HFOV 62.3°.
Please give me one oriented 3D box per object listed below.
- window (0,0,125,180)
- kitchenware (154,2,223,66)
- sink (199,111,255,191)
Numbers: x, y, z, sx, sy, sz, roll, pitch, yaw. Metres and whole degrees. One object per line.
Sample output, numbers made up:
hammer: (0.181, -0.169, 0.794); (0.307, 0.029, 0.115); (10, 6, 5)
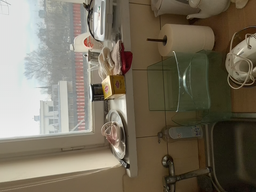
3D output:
window: (-0.680, -0.210, 1.130); (0.220, 1.270, 1.230); (164, 103, -70)
kitchenware: (0.290, -0.290, 1.050); (0.190, 0.240, 0.230); (160, 108, -70)
sink: (0.570, 0.270, 0.930); (0.510, 0.190, 0.400); (168, 100, -70)
